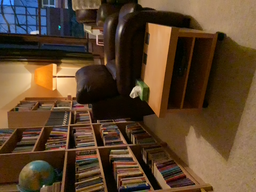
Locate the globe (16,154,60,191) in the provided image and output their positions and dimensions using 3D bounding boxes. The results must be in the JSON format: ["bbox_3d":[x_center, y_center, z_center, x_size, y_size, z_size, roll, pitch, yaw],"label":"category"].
[{"bbox_3d":[-0.780,0.700,1.890,0.280,0.320,0.230,-140,52,-71],"label":"globe"}]

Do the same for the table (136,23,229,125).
[{"bbox_3d":[0.360,-0.190,1.640,0.500,0.400,0.650,-122,35,-63],"label":"table"}]
